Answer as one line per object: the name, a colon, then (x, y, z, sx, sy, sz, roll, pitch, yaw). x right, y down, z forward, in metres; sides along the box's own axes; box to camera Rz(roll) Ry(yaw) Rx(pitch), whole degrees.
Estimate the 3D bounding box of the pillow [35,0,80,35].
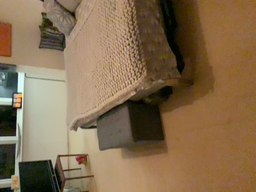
pillow: (-0.990, -1.120, 3.010, 0.390, 0.470, 0.210, -13, 75, 22)
